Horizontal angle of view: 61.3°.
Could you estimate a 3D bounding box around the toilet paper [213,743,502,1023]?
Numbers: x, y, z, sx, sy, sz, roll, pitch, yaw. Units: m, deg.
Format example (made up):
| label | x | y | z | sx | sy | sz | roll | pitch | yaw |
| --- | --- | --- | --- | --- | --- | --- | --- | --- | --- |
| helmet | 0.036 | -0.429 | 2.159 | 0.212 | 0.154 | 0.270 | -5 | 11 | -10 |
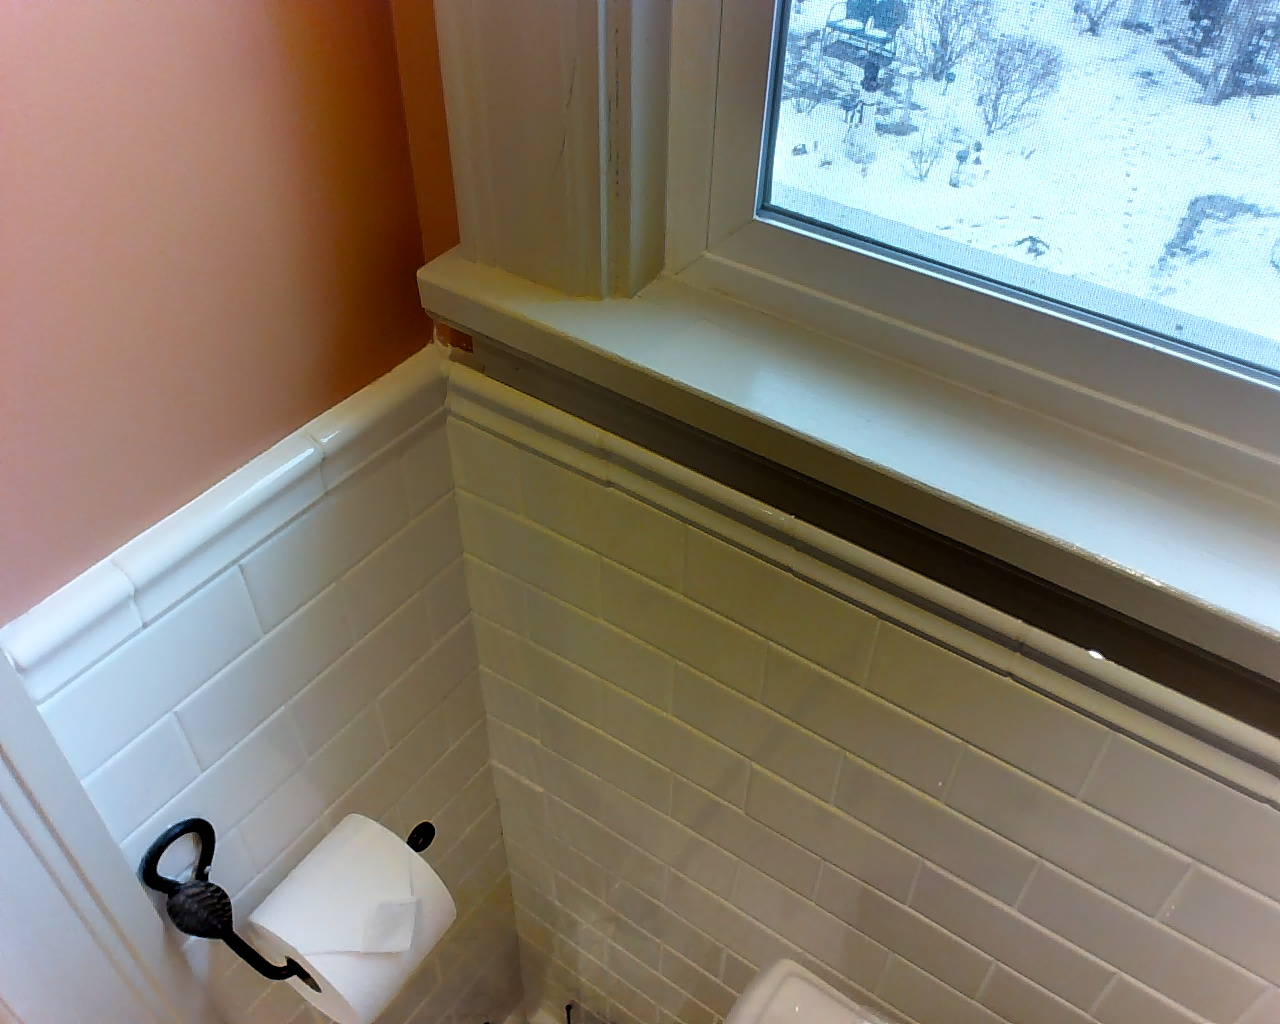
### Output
| label | x | y | z | sx | sy | sz | roll | pitch | yaw |
| --- | --- | --- | --- | --- | --- | --- | --- | --- | --- |
| toilet paper | -0.230 | 0.340 | 0.920 | 0.150 | 0.190 | 0.150 | 24 | 47 | 23 |
